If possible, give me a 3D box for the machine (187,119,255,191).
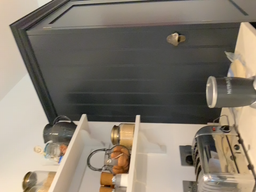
[{"bbox_3d":[0.440,0.320,1.080,0.350,0.220,0.230,-77,-14,-56],"label":"machine"}]
